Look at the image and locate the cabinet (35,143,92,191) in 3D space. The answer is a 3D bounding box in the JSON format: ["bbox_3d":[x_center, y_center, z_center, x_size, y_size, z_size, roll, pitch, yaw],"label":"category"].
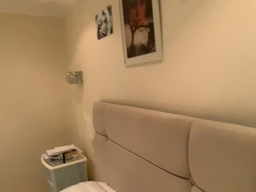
[{"bbox_3d":[-0.720,1.030,2.390,0.470,0.820,0.480,-7,6,-30],"label":"cabinet"}]
